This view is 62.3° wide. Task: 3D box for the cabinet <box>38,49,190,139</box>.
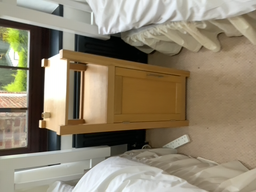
[{"bbox_3d":[-0.050,0.000,1.270,0.390,0.820,0.370,0,89,53],"label":"cabinet"}]
